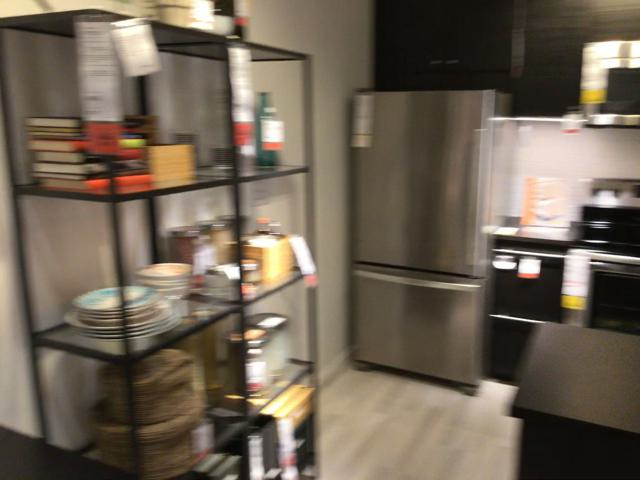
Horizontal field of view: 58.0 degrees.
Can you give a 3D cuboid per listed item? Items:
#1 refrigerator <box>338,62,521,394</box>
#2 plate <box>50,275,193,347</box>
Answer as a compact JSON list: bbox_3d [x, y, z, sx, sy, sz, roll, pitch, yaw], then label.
[{"bbox_3d":[0.660,-0.120,3.440,0.820,1.700,0.820,5,13,26],"label":"refrigerator"},{"bbox_3d":[-0.550,0.190,1.630,0.250,0.090,0.280,5,13,26],"label":"plate"}]
